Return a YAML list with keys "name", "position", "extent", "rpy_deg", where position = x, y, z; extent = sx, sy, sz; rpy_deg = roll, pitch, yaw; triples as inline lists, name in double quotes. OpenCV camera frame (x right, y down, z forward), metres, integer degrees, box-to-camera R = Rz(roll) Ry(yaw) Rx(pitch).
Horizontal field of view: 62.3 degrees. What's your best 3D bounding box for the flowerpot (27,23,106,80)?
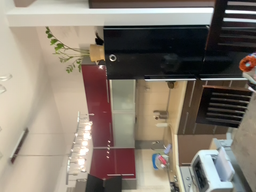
- name: "flowerpot"
  position: [-0.640, -0.490, 2.390]
  extent: [0.210, 0.740, 0.600]
  rpy_deg: [-92, 2, -54]
